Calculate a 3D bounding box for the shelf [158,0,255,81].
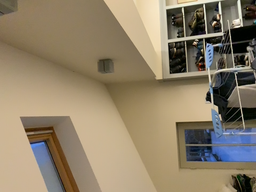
[{"bbox_3d":[1.650,-1.010,3.560,0.330,2.190,1.300,22,-115,-74],"label":"shelf"}]
